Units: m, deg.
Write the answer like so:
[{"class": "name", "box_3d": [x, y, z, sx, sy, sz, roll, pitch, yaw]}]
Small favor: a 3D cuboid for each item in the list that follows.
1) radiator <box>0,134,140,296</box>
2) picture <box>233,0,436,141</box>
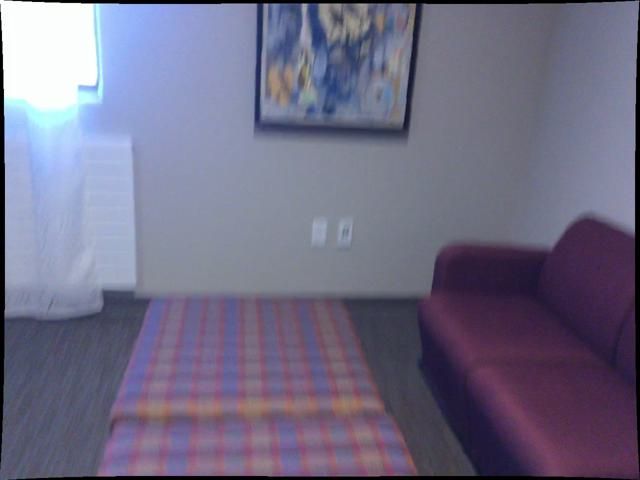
[{"class": "radiator", "box_3d": [-1.757, -0.100, 2.610, 1.757, 0.761, 0.070, -1, 21, -9]}, {"class": "picture", "box_3d": [0.060, -1.022, 2.610, 0.899, 1.112, 0.150, -1, 21, -9]}]
